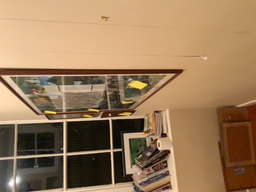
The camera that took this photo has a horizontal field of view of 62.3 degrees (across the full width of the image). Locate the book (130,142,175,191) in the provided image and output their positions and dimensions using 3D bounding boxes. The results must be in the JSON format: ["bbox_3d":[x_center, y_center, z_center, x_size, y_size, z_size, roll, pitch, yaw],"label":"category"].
[{"bbox_3d":[0.220,0.680,1.990,0.230,0.320,0.450,143,124,-73],"label":"book"}]

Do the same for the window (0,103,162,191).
[{"bbox_3d":[-0.620,0.480,2.050,0.050,1.940,0.750,140,127,-72],"label":"window"}]
